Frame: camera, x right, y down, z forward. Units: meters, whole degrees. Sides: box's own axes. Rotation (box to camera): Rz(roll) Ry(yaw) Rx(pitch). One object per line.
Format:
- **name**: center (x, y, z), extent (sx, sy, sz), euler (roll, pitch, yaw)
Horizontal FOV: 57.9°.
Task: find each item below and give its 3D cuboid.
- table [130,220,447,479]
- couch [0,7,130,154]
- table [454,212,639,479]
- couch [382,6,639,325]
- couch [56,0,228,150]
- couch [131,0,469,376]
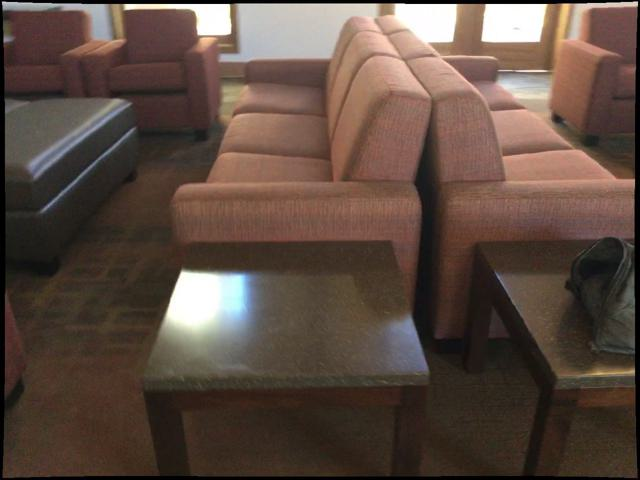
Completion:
- **table**: center (-0.070, 0.330, 1.610), extent (0.659, 0.490, 0.670), euler (3, 29, 0)
- **couch**: center (-1.968, -1.161, 4.140), extent (0.899, 0.821, 0.750), euler (3, 29, 0)
- **table**: center (0.789, 0.310, 1.560), extent (0.659, 0.520, 0.620), euler (3, 29, 0)
- **couch**: center (0.789, -0.561, 2.650), extent (0.769, 0.781, 2.160), euler (3, 26, 0)
- **couch**: center (-1.189, -1.201, 4.120), extent (0.929, 0.861, 0.730), euler (3, 29, 0)
- **couch**: center (-0.050, -0.490, 2.700), extent (0.889, 0.911, 2.201), euler (3, 29, 0)
